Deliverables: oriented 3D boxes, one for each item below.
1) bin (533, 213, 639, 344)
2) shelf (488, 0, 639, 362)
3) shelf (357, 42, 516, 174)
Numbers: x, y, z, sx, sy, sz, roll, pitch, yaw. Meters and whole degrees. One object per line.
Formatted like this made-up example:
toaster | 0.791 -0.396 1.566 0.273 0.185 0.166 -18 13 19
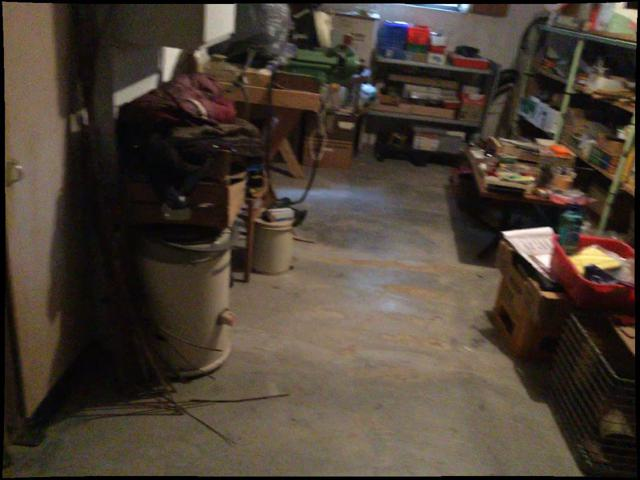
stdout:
bin | 1.179 0.150 2.360 0.410 0.350 0.420 6 25 -1
shelf | 1.988 -0.020 2.240 0.929 1.471 6.121 6 25 -1
shelf | 1.009 -1.231 5.330 1.199 0.951 0.690 6 25 -1
